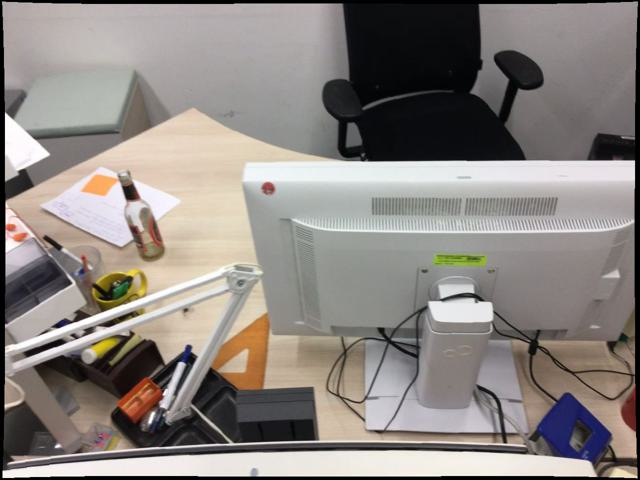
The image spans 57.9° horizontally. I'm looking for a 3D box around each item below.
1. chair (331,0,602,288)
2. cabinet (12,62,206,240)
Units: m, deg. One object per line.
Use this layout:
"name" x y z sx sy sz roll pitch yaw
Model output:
"chair" 0.400 -0.440 1.960 0.619 0.990 0.740 0 48 6
"cabinet" -0.819 -0.360 2.400 0.490 0.540 0.480 0 48 6
